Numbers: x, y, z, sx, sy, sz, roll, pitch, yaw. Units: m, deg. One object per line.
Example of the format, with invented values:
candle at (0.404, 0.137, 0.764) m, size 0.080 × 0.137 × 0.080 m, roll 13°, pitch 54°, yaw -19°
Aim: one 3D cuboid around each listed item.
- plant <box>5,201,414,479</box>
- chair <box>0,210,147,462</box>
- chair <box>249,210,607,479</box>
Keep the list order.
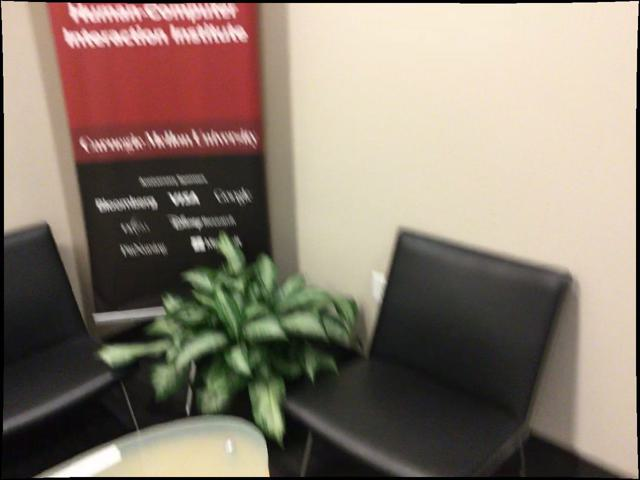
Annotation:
plant at (-0.349, 0.311, 1.940) m, size 0.999 × 0.411 × 0.869 m, roll -24°, pitch 31°, yaw -35°
chair at (-1.067, 0.291, 1.970) m, size 0.589 × 0.471 × 0.709 m, roll -24°, pitch 31°, yaw -35°
chair at (0.319, 0.341, 1.690) m, size 0.669 × 0.511 × 0.729 m, roll 19°, pitch 35°, yaw 41°
